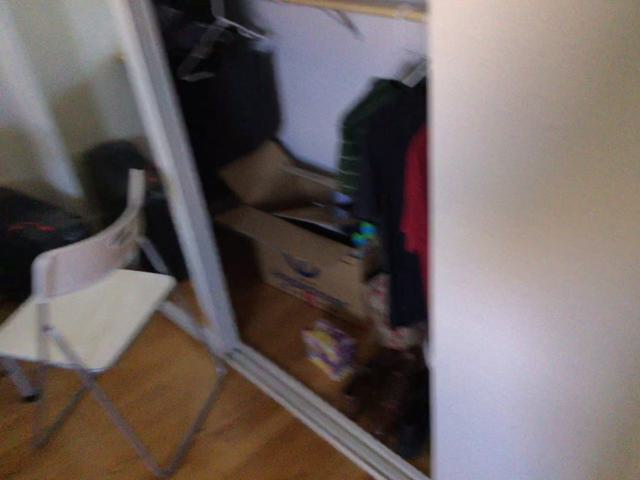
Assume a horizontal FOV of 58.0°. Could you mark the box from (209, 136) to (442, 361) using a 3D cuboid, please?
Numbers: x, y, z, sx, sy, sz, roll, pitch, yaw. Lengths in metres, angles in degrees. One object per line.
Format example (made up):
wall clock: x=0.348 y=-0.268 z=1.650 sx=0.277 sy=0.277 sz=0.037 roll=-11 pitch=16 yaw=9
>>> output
box: x=0.000 y=-0.010 z=2.130 sx=0.840 sy=0.510 sz=0.280 roll=24 pitch=42 yaw=38
